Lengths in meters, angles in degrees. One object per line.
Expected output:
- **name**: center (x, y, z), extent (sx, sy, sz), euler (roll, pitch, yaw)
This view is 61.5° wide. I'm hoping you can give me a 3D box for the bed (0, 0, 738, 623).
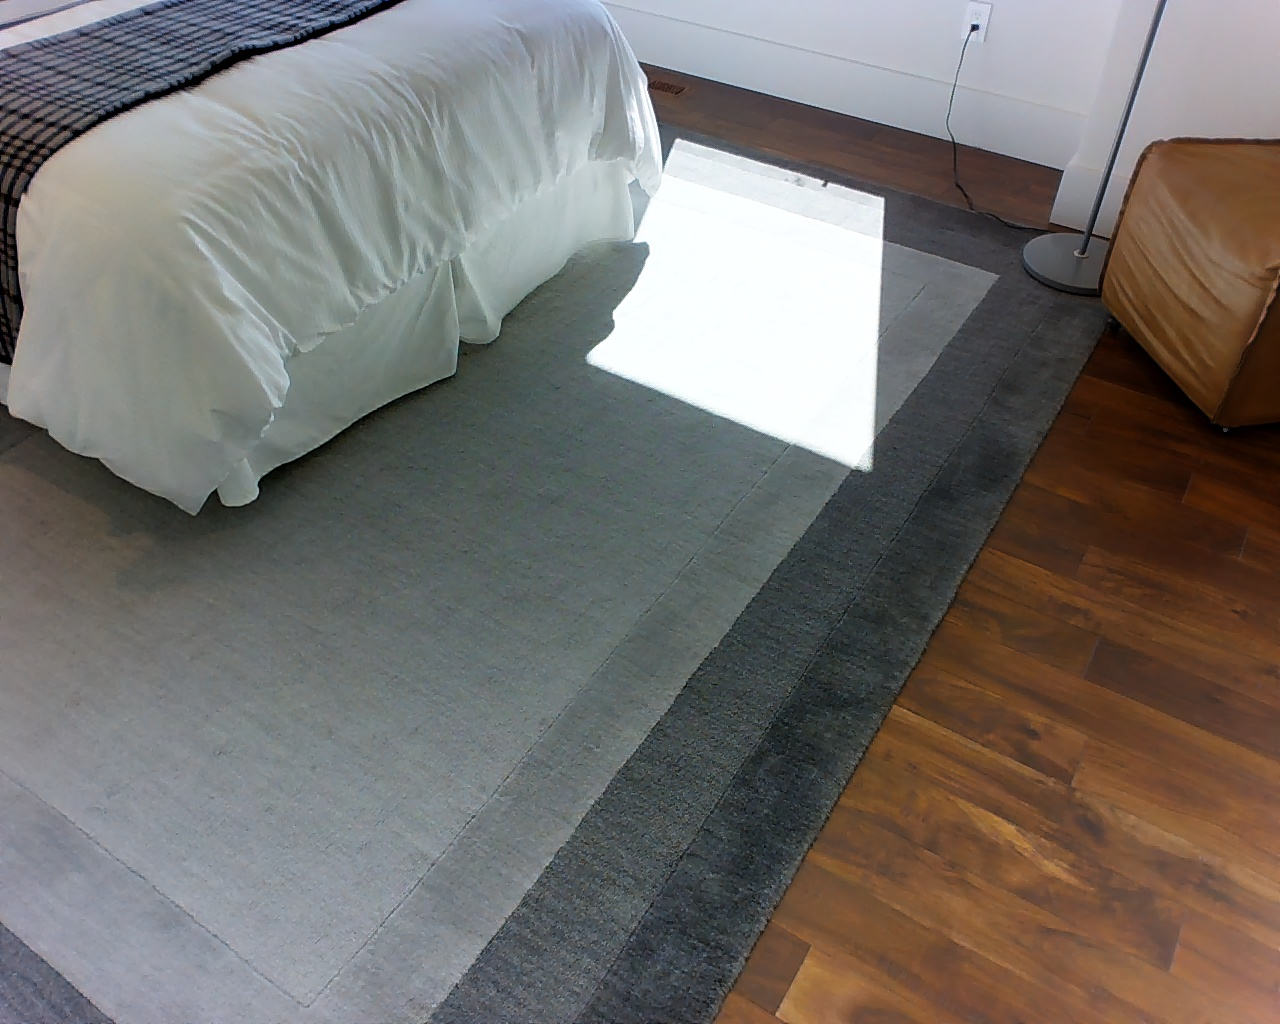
- **bed**: center (-1.200, -1.160, 2.620), extent (2.210, 1.110, 1.920), euler (24, 47, 23)
